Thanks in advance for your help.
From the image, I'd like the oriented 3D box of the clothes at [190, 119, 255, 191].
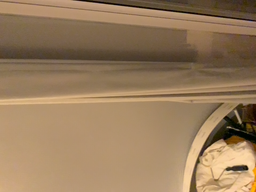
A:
[{"bbox_3d":[0.610,0.400,1.300,0.410,0.220,0.430,-162,71,-69],"label":"clothes"}]
